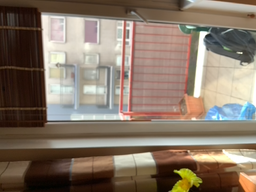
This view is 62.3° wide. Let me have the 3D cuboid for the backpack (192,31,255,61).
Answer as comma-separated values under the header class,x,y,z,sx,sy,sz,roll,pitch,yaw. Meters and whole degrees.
class,x,y,z,sx,sy,sz,roll,pitch,yaw
backpack,0.910,-0.480,2.060,0.370,0.410,0.240,-129,41,-74
